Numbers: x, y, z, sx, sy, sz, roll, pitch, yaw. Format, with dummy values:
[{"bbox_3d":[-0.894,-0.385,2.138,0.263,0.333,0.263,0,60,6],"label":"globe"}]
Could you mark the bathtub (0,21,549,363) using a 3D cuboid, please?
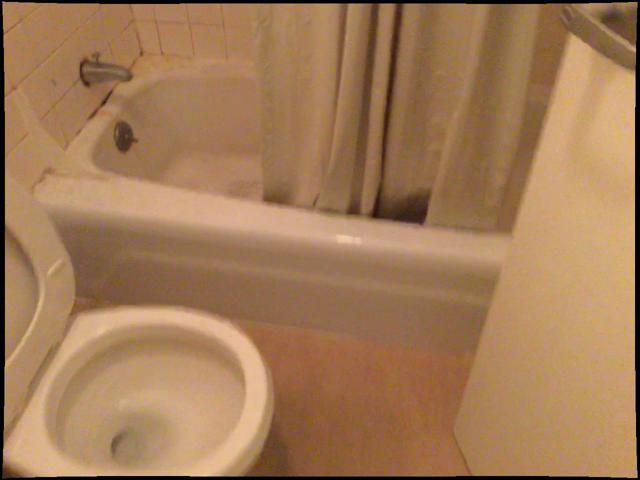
[{"bbox_3d":[-0.080,-0.190,1.650,1.227,0.481,0.781,6,47,9],"label":"bathtub"}]
